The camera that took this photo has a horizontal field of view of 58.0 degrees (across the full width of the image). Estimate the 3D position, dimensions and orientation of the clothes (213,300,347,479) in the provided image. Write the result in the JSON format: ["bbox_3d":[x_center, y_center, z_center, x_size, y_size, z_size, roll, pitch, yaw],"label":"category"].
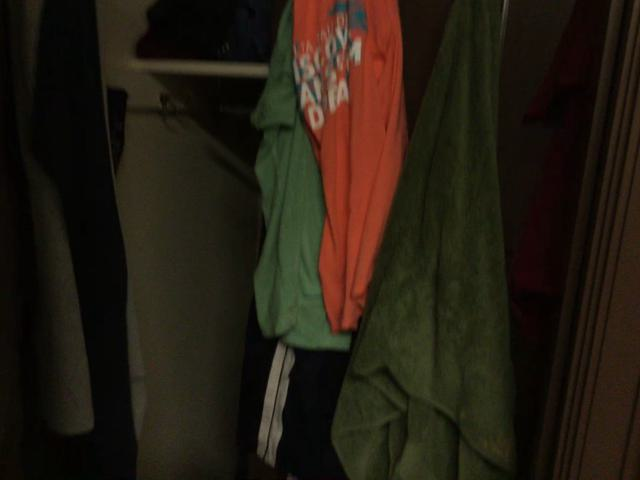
[{"bbox_3d":[-0.080,0.330,1.110,0.220,0.390,0.100,7,14,14],"label":"clothes"}]

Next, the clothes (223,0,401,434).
[{"bbox_3d":[-0.020,-0.090,0.960,0.240,0.810,0.110,7,14,14],"label":"clothes"}]

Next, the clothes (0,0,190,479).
[{"bbox_3d":[-0.280,-0.060,0.670,0.180,0.940,0.200,7,14,14],"label":"clothes"}]

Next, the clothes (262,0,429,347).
[{"bbox_3d":[0.050,-0.230,0.940,0.200,0.750,0.210,7,14,14],"label":"clothes"}]

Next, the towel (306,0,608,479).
[{"bbox_3d":[0.180,0.090,0.910,0.330,1.030,0.200,7,14,14],"label":"towel"}]

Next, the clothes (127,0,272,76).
[{"bbox_3d":[-0.250,-0.470,1.250,0.210,0.200,0.260,7,14,14],"label":"clothes"}]
